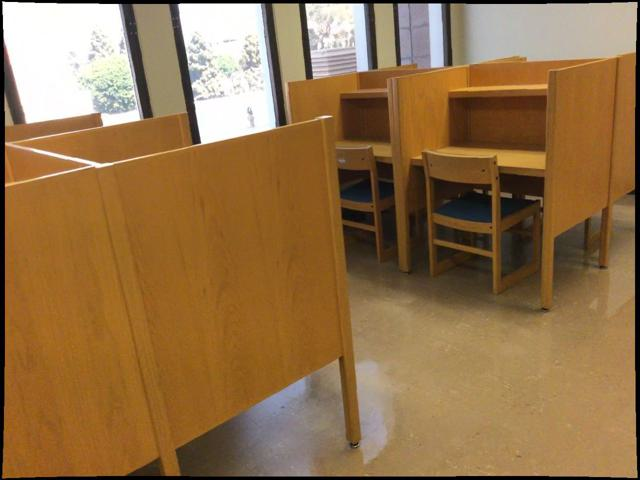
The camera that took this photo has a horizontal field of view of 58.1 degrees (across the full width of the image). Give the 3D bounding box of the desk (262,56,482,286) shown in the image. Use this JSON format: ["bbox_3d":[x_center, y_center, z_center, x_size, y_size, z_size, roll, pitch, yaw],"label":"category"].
[{"bbox_3d":[0.349,-0.531,3.970,0.869,1.253,1.149,-18,20,-33],"label":"desk"}]

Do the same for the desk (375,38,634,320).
[{"bbox_3d":[1.037,-0.411,3.310,0.879,1.273,1.019,-18,20,-33],"label":"desk"}]

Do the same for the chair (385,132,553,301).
[{"bbox_3d":[0.888,-0.190,3.450,0.599,0.802,0.729,-18,20,-33],"label":"chair"}]
